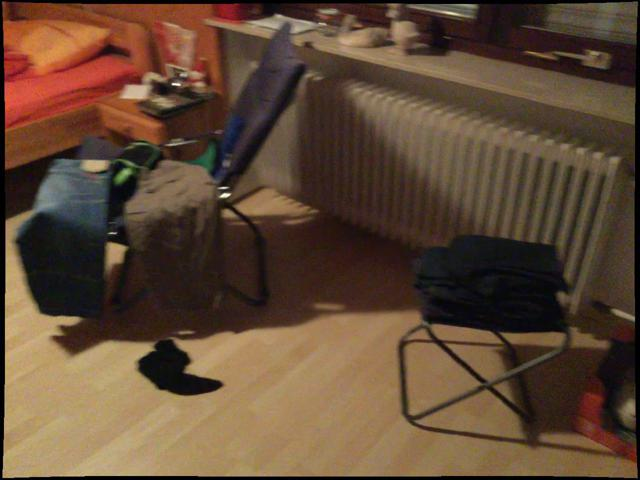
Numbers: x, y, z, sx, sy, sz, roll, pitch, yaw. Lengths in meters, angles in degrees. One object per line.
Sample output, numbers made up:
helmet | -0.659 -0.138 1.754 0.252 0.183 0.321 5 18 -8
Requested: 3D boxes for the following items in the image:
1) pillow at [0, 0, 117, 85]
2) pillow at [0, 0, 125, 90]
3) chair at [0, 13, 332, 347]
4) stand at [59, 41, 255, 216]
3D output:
pillow | -1.578 -1.061 3.020 0.910 0.160 0.550 25 42 32
pillow | -1.698 -1.161 3.060 1.229 0.300 0.640 25 42 32
chair | -0.519 -0.260 2.070 0.979 0.831 0.770 -7 35 -9
stand | -0.729 -0.541 2.660 0.660 0.510 0.500 25 42 32
